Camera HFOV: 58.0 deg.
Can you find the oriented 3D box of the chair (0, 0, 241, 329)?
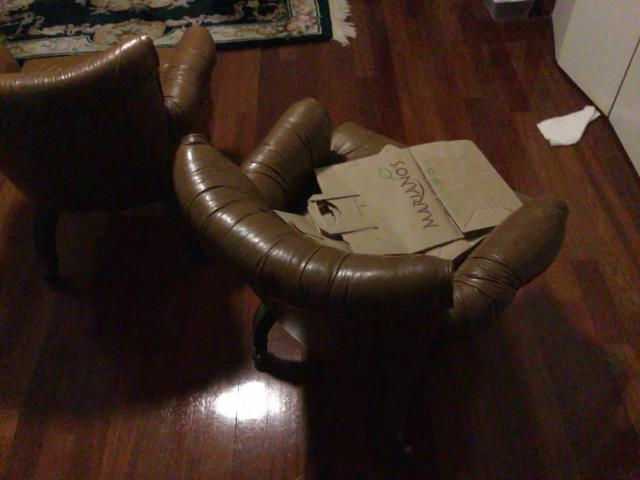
[{"bbox_3d":[-0.640,-0.270,1.560,0.680,0.810,0.670,-2,51,2],"label":"chair"}]

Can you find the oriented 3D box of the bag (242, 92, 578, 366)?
[{"bbox_3d":[0.170,-0.050,1.200,0.530,0.170,0.380,-25,54,-16],"label":"bag"}]

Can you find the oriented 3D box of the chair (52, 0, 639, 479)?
[{"bbox_3d":[0.110,0.060,1.250,0.760,0.830,0.750,-37,58,-24],"label":"chair"}]
